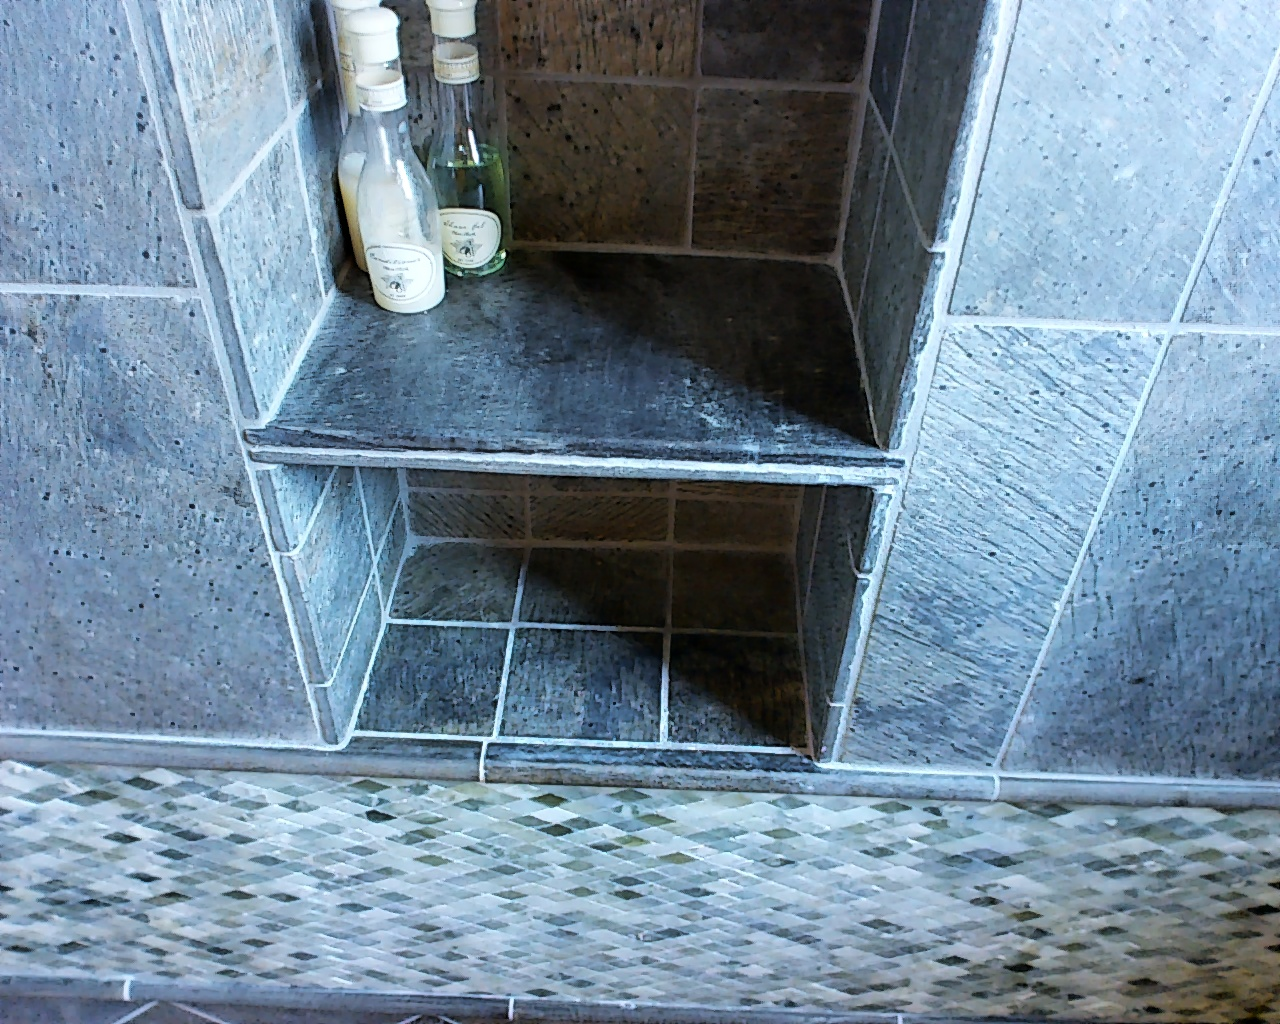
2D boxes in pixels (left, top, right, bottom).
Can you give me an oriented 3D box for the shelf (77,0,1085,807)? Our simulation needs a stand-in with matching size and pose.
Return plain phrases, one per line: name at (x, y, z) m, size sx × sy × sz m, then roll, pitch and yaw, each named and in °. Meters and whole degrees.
shelf at (-0.020, -0.140, 0.490) m, size 0.320 × 0.630 × 0.200 m, roll 2°, pitch 41°, yaw 1°
